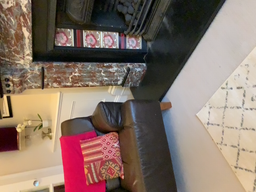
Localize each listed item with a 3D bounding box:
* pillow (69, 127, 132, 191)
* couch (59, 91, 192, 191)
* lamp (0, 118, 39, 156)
[{"bbox_3d":[-0.240,0.540,1.820,0.420,0.390,0.110,65,-173,11],"label":"pillow"},{"bbox_3d":[-0.100,0.550,1.830,0.890,0.750,0.960,-30,67,61],"label":"couch"},{"bbox_3d":[-1.510,0.540,2.770,0.330,0.610,0.300,68,148,32],"label":"lamp"}]
